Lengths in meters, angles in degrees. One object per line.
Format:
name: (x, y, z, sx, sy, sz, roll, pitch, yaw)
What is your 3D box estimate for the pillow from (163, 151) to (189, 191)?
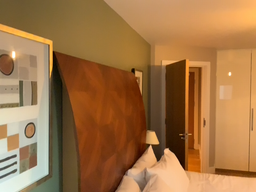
pillow: (0.470, 0.740, 2.030, 0.160, 0.370, 0.570, -6, -12, 17)
